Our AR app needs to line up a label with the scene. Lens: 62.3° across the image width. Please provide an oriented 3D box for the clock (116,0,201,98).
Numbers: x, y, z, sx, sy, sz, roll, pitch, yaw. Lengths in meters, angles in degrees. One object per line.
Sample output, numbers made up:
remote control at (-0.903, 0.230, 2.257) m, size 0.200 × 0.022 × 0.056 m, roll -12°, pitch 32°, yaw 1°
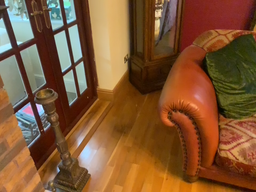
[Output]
clock at (0.300, -1.140, 2.280) m, size 0.560 × 2.150 × 0.780 m, roll -20°, pitch 37°, yaw -27°
